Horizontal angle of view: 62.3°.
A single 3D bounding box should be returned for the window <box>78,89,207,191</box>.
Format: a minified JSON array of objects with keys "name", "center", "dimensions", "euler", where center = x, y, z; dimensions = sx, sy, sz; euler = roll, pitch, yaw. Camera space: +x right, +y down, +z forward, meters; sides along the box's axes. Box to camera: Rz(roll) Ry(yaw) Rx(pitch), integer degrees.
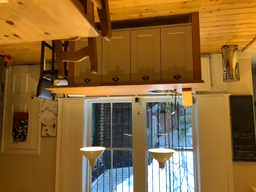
[{"name":"window","center":[0.260,1.150,4.730],"dimensions":[2.700,2.500,0.460],"euler":[-2,173,12]}]
